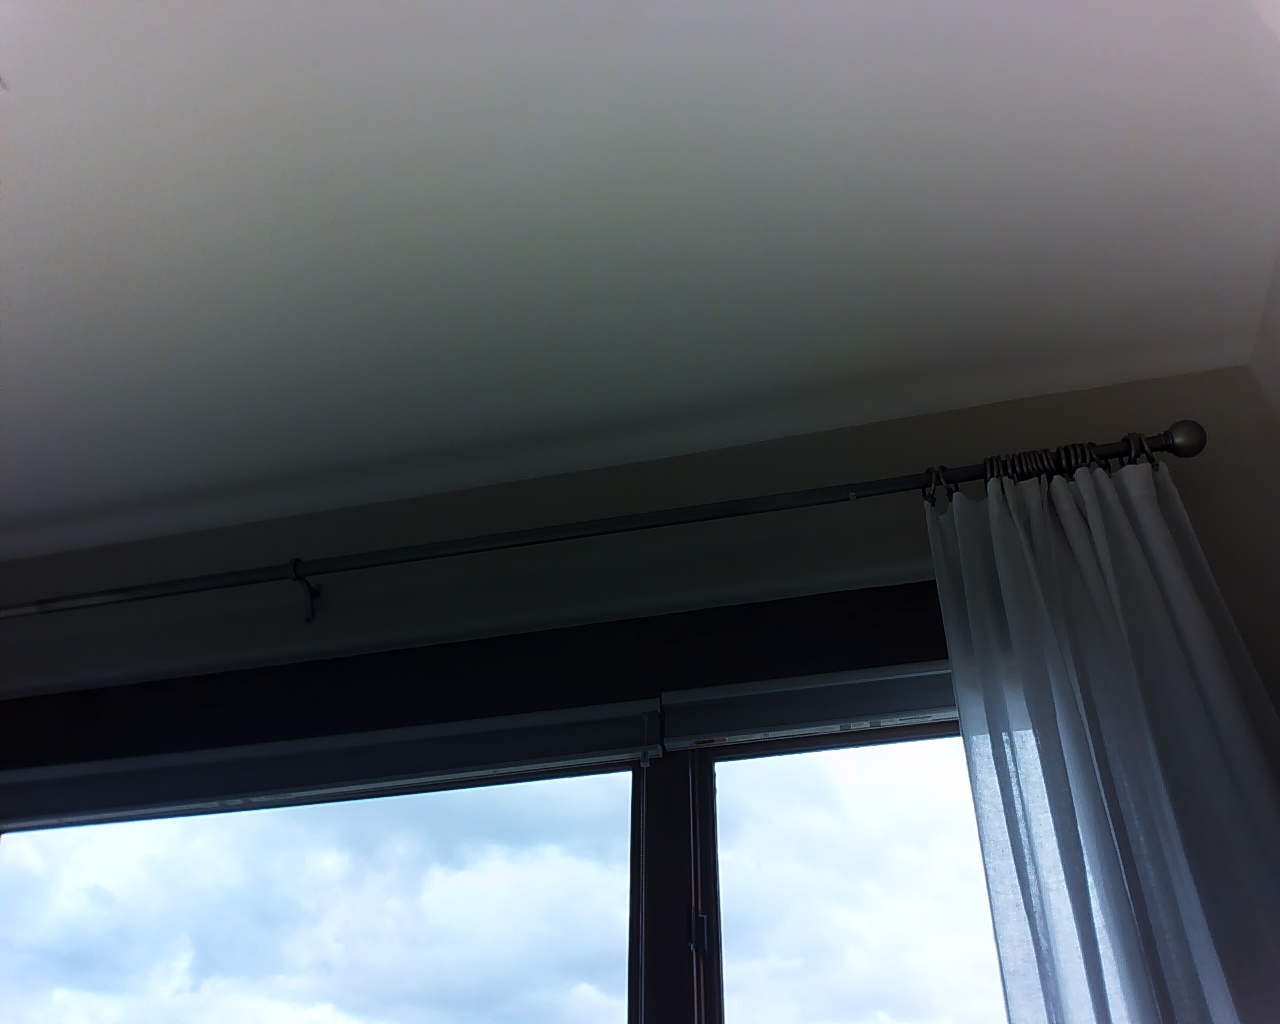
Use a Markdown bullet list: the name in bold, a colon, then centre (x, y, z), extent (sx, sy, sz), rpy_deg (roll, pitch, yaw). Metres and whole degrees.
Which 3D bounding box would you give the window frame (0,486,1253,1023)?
- **window frame**: centre (-0.690, 0.930, 1.650), extent (2.999, 1.791, 0.310), rpy_deg (-8, -43, 9)
